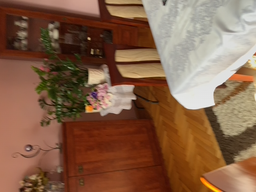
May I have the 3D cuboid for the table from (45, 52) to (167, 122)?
[{"bbox_3d":[-0.300,-0.080,2.660,0.540,1.360,0.600,126,139,-54],"label":"table"}]
